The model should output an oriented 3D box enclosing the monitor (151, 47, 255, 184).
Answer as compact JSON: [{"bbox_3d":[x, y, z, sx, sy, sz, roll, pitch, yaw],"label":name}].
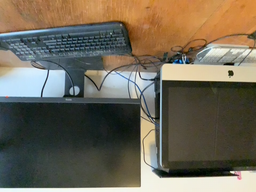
[{"bbox_3d":[0.400,0.050,0.820,0.550,0.460,0.060,-7,170,-5],"label":"monitor"}]

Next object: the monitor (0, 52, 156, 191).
[{"bbox_3d":[-0.230,0.110,0.900,0.620,0.550,0.060,-6,170,-6],"label":"monitor"}]
